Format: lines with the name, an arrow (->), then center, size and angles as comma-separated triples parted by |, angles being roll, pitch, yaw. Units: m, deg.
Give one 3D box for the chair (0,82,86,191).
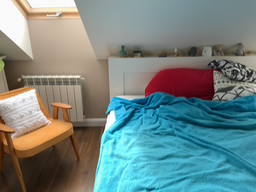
chair -> -0.880, 0.340, 1.960 | 0.670, 0.700, 0.630 | 13, 25, 30
